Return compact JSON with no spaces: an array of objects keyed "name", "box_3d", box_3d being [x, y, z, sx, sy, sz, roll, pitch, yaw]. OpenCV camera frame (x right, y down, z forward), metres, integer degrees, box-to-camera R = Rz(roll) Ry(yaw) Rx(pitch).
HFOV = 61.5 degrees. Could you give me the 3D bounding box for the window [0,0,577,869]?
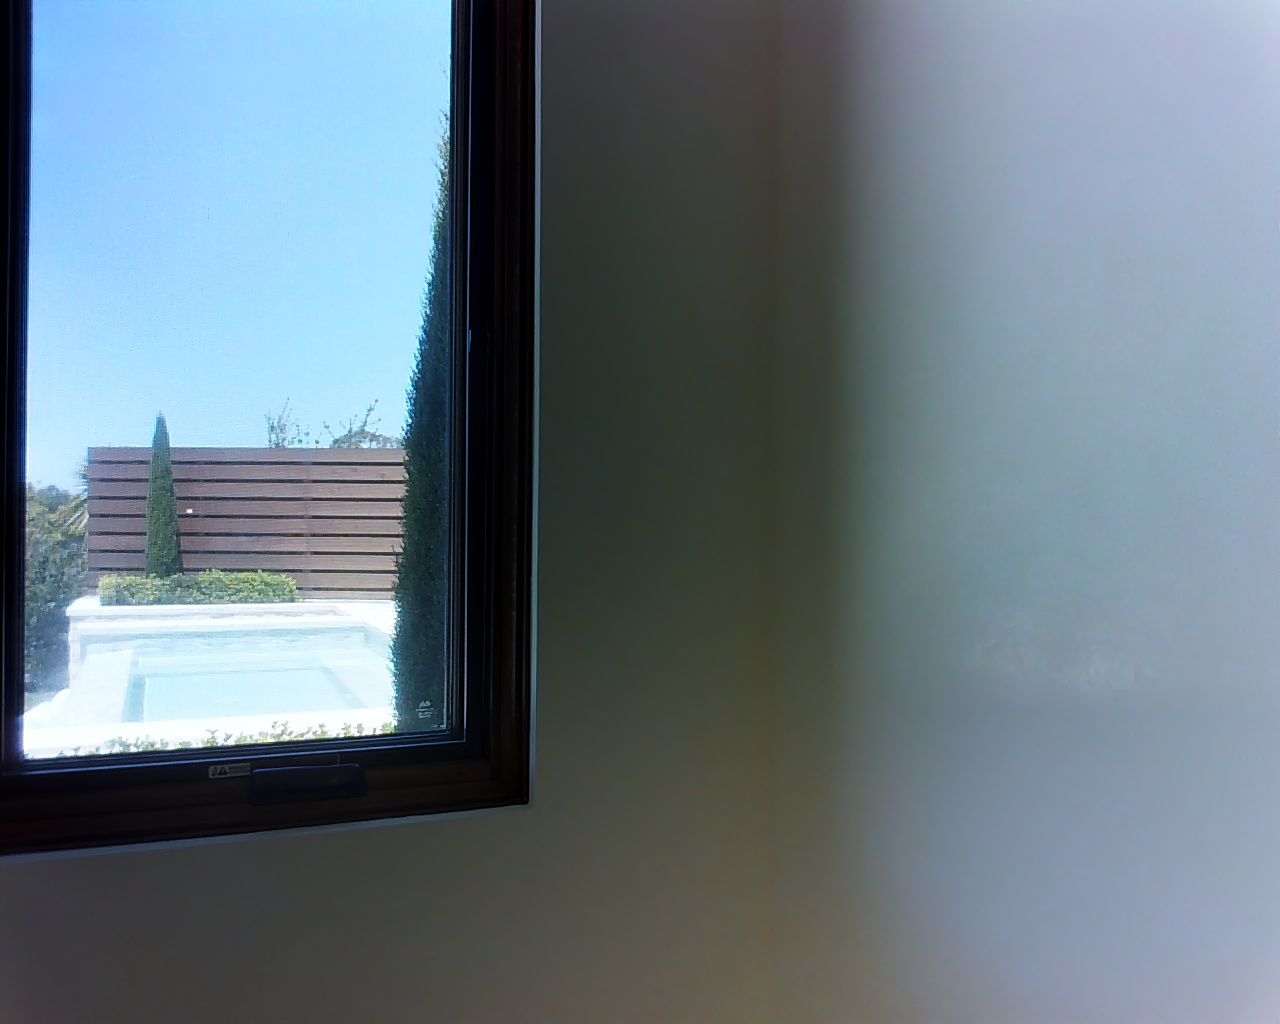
[{"name":"window","box_3d":[-0.380,-0.180,1.130,0.600,1.000,0.160,1,0,-24]}]
